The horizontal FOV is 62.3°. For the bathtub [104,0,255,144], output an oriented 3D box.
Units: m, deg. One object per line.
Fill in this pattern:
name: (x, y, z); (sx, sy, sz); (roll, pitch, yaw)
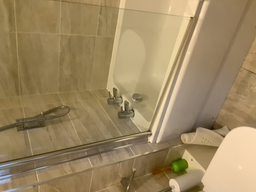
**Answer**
bathtub: (0.350, -0.540, 1.300); (0.710, 0.550, 1.460); (49, 135, 45)
